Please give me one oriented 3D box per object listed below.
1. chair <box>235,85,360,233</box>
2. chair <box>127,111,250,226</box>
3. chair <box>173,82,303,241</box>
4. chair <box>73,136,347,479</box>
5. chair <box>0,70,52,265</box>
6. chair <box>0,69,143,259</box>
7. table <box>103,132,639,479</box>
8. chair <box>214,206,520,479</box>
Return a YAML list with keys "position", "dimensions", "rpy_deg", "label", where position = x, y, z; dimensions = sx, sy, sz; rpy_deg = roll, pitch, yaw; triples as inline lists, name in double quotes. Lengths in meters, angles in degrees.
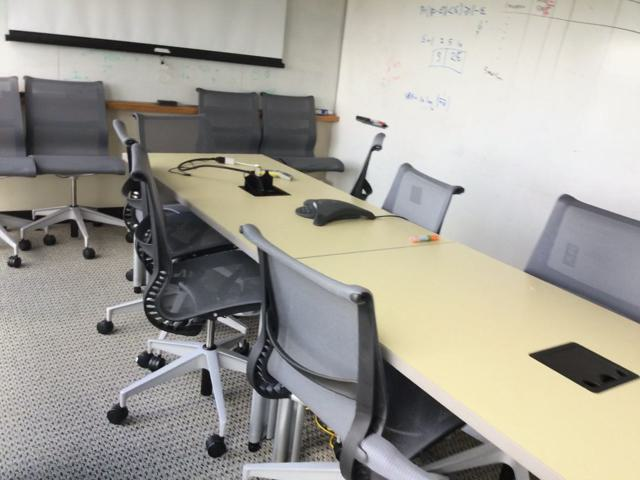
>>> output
- position: [-0.190, -0.610, 4.230]
  dimensions: [0.640, 0.930, 0.570]
  rpy_deg: [-6, 22, -32]
  label: "chair"
- position: [-0.700, -0.390, 3.020]
  dimensions: [0.480, 0.480, 0.470]
  rpy_deg: [-6, 22, -32]
  label: "chair"
- position: [-0.590, -0.560, 3.980]
  dimensions: [0.650, 0.930, 0.610]
  rpy_deg: [-6, 22, -32]
  label: "chair"
- position: [-0.450, 0.150, 2.120]
  dimensions: [0.680, 0.920, 0.780]
  rpy_deg: [-6, 22, -32]
  label: "chair"
- position: [-1.860, -0.410, 3.110]
  dimensions: [0.580, 0.930, 0.690]
  rpy_deg: [-8, 23, -36]
  label: "chair"
- position: [-1.460, -0.470, 3.400]
  dimensions: [0.660, 0.950, 0.590]
  rpy_deg: [-6, 22, -32]
  label: "chair"
- position: [0.090, 0.300, 2.000]
  dimensions: [0.910, 0.800, 3.090]
  rpy_deg: [-6, 22, -32]
  label: "table"
- position: [0.070, 0.400, 1.520]
  dimensions: [0.500, 0.840, 0.510]
  rpy_deg: [-6, 22, -32]
  label: "chair"
